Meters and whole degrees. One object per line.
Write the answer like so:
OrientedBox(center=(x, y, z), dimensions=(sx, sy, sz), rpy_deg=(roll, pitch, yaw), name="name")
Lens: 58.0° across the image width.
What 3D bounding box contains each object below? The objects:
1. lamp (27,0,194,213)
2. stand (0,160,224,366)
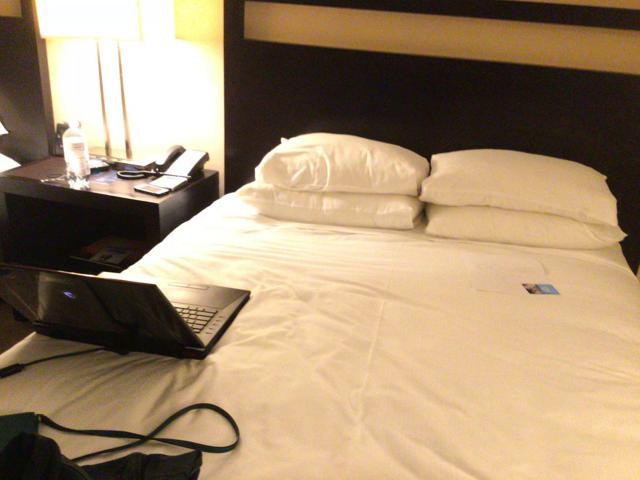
OrientedBox(center=(-0.820, -0.840, 2.290), dimensions=(0.560, 1.370, 0.270), rpy_deg=(10, 21, 14), name="lamp")
OrientedBox(center=(-0.890, 0.060, 2.510), dimensions=(0.780, 0.630, 0.530), rpy_deg=(9, 21, 14), name="stand")
